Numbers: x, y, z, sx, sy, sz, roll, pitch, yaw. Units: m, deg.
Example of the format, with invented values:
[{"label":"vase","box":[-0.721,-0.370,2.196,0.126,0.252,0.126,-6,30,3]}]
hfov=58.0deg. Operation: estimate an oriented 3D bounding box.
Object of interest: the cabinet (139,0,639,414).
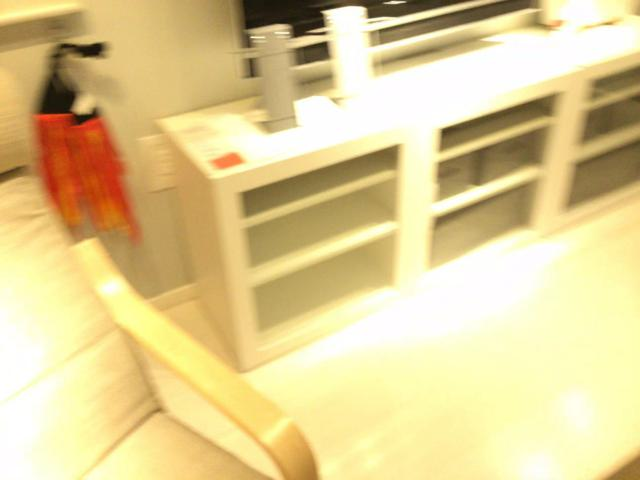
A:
[{"label":"cabinet","box":[0.470,-0.270,1.920,1.850,0.720,0.500,-24,35,-20]}]
